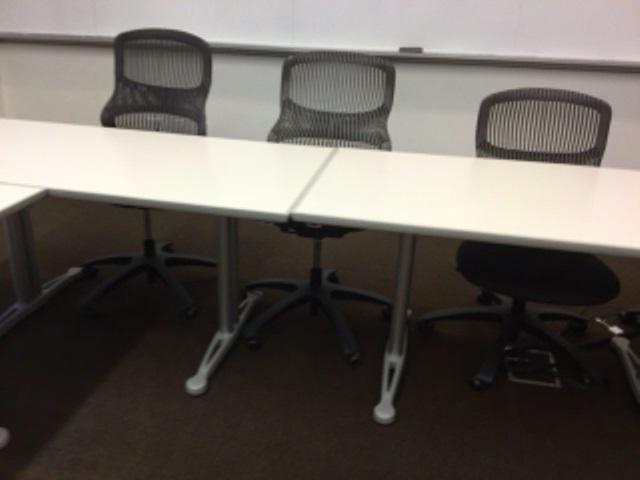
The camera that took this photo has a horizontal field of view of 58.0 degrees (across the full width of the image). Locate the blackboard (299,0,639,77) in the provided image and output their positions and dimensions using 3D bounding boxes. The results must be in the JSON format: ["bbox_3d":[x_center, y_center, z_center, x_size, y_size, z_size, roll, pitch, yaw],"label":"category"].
[{"bbox_3d":[1.570,-0.990,2.680,3.380,0.440,0.260,7,20,12],"label":"blackboard"}]

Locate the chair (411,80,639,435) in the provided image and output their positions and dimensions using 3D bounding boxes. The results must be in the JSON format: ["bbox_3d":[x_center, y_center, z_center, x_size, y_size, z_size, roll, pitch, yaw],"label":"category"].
[{"bbox_3d":[0.740,0.000,1.980,0.700,0.980,0.620,7,20,12],"label":"chair"}]

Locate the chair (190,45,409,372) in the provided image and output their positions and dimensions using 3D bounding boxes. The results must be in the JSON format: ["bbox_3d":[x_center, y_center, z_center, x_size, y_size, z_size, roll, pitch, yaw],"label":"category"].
[{"bbox_3d":[-0.050,-0.180,2.280,0.630,1.080,0.680,7,20,12],"label":"chair"}]

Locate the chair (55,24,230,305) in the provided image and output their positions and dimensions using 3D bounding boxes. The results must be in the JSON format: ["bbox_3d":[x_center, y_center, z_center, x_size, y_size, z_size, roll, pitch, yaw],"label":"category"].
[{"bbox_3d":[-0.710,-0.330,2.460,0.530,1.080,0.380,7,20,12],"label":"chair"}]
